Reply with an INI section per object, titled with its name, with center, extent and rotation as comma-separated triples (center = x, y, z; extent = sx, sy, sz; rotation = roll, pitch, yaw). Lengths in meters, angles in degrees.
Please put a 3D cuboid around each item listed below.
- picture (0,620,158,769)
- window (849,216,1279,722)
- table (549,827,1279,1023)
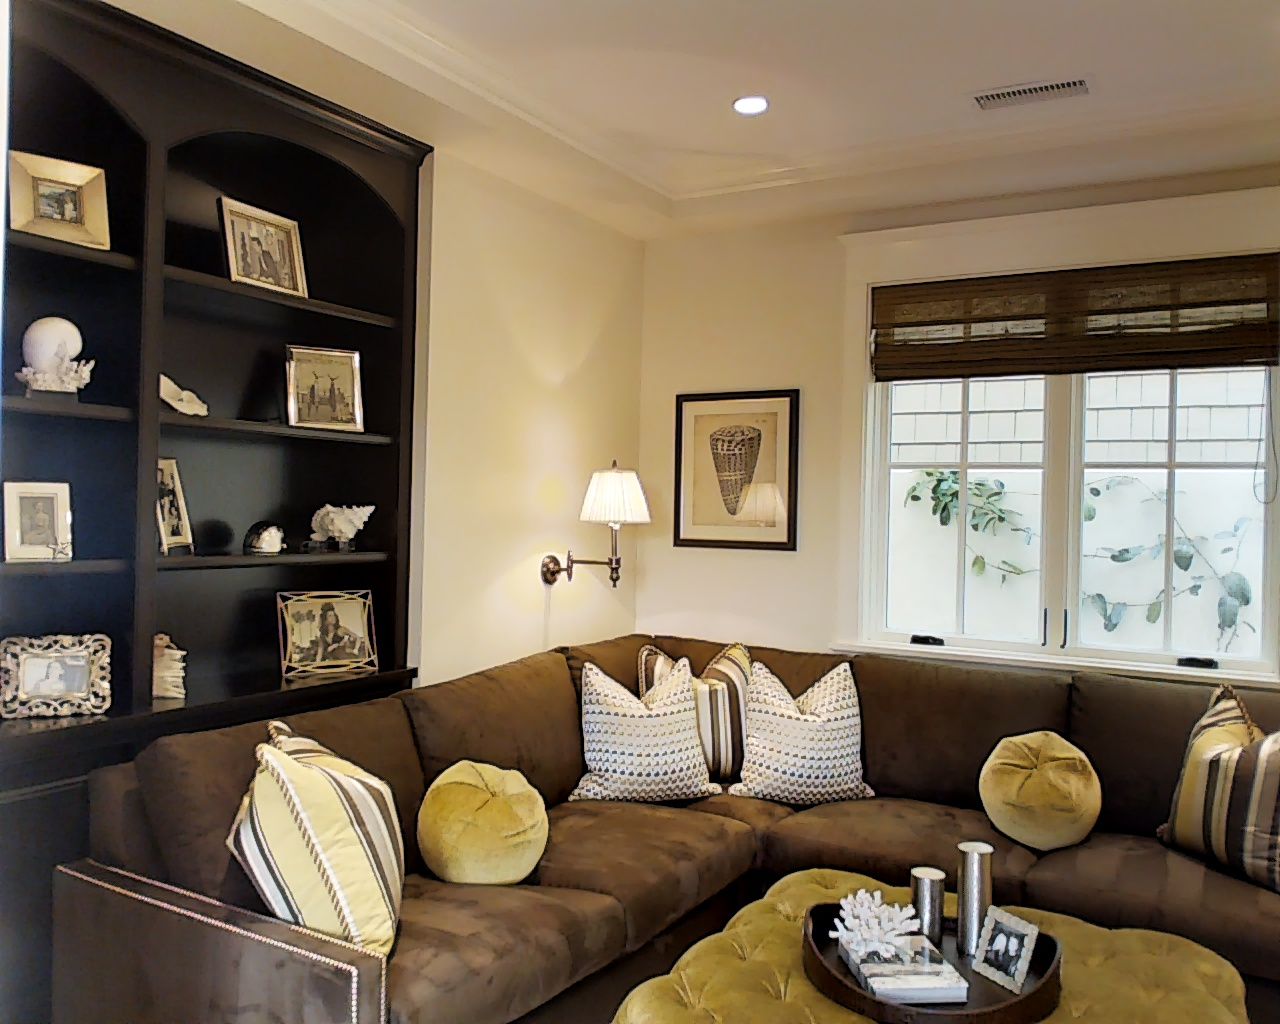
[picture]
center = -1.479, 0.460, 2.760
extent = 0.130, 0.300, 0.390
rotation = 19, 12, 34
[window]
center = 1.699, -0.160, 4.130
extent = 1.699, 1.721, 0.350
rotation = 1, 0, 31
[table]
center = 0.690, 1.221, 2.350
extent = 1.280, 0.530, 1.270
rotation = 1, 0, 31
